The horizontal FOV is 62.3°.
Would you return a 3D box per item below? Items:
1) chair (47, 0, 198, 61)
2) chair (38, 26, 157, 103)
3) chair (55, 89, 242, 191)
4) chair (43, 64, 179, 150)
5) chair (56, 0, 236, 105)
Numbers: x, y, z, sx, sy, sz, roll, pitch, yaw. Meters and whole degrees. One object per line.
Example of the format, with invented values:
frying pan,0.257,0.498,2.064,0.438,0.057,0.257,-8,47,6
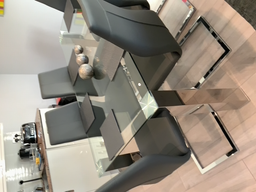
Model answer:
chair,-0.050,-0.640,1.680,0.530,1.000,0.400,-58,46,42
chair,-0.310,-0.280,2.120,0.540,1.000,0.400,-58,46,43
chair,0.130,0.320,1.420,0.460,1.030,0.550,-56,47,44
chair,-0.160,0.080,1.890,0.550,1.010,0.410,-58,46,43
chair,0.110,-0.300,1.440,0.550,1.010,0.410,-58,46,42
